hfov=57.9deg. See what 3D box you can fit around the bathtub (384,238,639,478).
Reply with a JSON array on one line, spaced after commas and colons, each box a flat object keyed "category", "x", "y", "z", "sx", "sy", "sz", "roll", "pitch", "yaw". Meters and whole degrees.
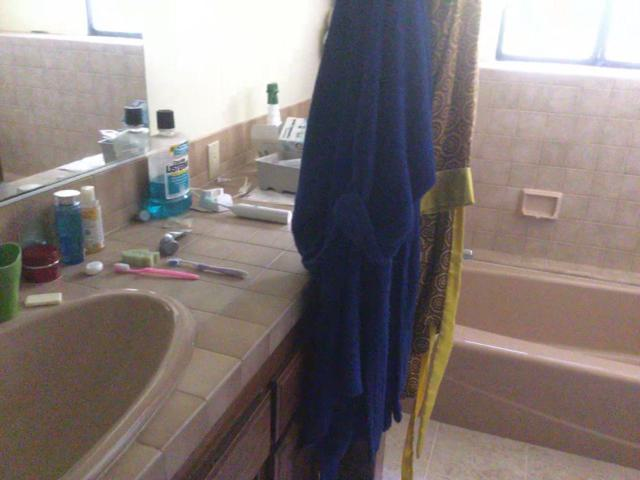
[{"category": "bathtub", "x": 1.180, "y": 0.410, "z": 2.030, "sx": 1.730, "sy": 0.370, "sz": 0.840, "roll": 7, "pitch": 23, "yaw": 20}]
